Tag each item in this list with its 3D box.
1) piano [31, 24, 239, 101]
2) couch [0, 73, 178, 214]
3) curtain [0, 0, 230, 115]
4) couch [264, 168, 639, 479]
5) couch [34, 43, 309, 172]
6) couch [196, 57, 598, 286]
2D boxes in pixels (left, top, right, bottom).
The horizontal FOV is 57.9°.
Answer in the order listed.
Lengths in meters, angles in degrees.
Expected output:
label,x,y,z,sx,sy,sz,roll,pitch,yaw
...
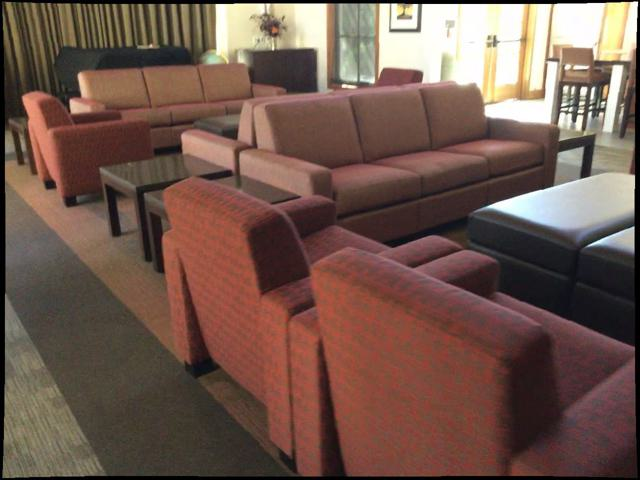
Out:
label,x,y,z,sx,sy,sz,roll,pitch,yaw
piano,-2.557,-2.543,8.050,2.239,0.741,1.680,-17,27,-32
couch,-1.858,-0.831,4.620,1.039,0.811,0.920,-17,27,-32
curtain,-3.526,-3.063,8.530,4.287,1.942,0.900,-17,27,-32
couch,0.470,0.370,1.500,0.849,0.801,0.870,-17,27,-32
couch,-1.498,-1.552,6.340,2.668,0.941,0.930,-17,27,-32
couch,0.609,-0.641,3.890,2.539,0.871,1.050,-17,27,-32
